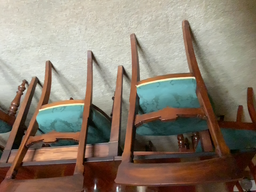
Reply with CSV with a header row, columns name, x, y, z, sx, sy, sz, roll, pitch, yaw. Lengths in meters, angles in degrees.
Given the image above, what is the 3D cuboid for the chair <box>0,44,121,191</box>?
name,x,y,z,sx,sy,sz,roll,pitch,yaw
chair,-0.350,0.190,1.350,0.490,0.870,0.500,-8,143,10

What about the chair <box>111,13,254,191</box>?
name,x,y,z,sx,sy,sz,roll,pitch,yaw
chair,0.230,0.080,1.180,0.460,0.880,0.560,-7,142,10
